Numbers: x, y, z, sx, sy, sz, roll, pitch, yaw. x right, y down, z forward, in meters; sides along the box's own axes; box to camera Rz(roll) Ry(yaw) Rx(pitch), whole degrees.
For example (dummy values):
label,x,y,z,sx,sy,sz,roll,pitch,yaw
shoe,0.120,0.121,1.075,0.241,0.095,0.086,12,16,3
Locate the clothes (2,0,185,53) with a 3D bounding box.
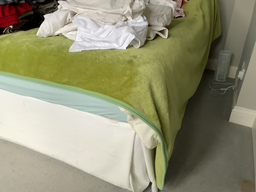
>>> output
label,x,y,z,sx,sy,sz,roll,pitch,yaw
clothes,-0.100,-0.440,1.040,0.600,0.210,0.680,14,30,22
